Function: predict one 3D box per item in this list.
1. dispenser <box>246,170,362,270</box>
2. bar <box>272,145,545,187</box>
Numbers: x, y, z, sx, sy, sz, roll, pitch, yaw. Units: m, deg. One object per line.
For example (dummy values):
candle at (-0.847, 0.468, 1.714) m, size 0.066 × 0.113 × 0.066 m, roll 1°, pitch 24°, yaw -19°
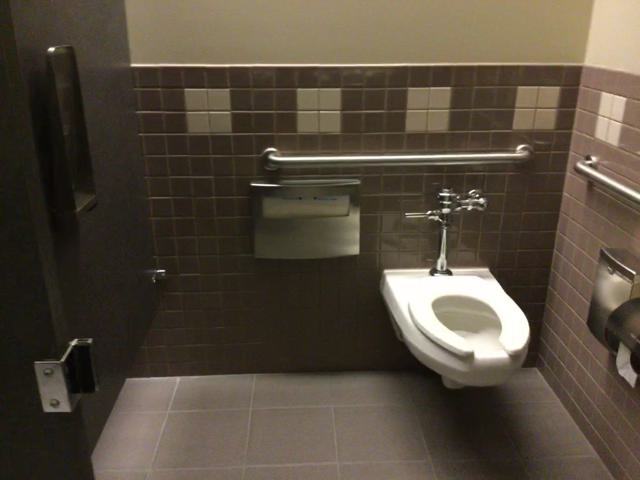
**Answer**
dispenser at (-0.060, -0.070, 2.080) m, size 0.400 × 0.350 × 0.060 m, roll 1°, pitch 19°, yaw -1°
bar at (0.300, -0.260, 2.020) m, size 0.930 × 0.110 × 0.090 m, roll 1°, pitch 19°, yaw -1°
